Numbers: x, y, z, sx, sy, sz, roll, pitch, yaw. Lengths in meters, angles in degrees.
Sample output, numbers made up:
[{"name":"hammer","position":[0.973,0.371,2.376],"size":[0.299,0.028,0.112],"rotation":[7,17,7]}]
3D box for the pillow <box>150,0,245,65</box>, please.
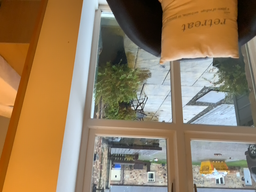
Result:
[{"name":"pillow","position":[0.330,-0.360,1.040],"size":[0.390,0.370,0.100],"rotation":[9,-169,17]}]
